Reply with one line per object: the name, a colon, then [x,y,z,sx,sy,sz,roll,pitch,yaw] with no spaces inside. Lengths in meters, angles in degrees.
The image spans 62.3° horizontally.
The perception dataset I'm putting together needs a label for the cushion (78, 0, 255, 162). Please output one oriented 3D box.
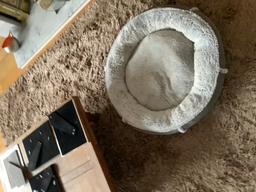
cushion: [0.150,-0.160,1.140,0.680,0.120,0.710,45,108,23]
